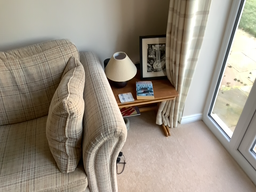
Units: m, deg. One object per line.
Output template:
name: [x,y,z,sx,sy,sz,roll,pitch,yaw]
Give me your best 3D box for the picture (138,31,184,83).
picture: [0.280,-0.320,1.760,0.330,0.350,0.070,-15,26,-6]
